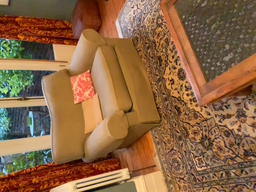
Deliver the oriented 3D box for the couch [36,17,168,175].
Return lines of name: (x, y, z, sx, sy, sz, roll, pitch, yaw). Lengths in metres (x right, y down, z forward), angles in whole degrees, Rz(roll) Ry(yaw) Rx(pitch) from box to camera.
couch: (-0.430, 0.050, 2.400, 1.120, 0.900, 1.230, -47, 54, 50)
